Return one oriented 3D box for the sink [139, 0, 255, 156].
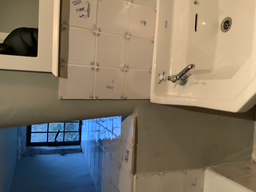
[{"bbox_3d":[0.330,-0.220,0.780,0.470,0.350,0.710,-165,79,-67],"label":"sink"}]
